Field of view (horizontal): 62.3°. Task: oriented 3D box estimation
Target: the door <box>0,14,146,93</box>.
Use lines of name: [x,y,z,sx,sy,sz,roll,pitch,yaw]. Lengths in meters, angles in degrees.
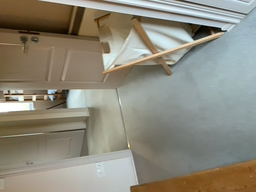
door: [-0.960,-0.300,1.870,0.970,2.070,0.100,-50,48,54]
